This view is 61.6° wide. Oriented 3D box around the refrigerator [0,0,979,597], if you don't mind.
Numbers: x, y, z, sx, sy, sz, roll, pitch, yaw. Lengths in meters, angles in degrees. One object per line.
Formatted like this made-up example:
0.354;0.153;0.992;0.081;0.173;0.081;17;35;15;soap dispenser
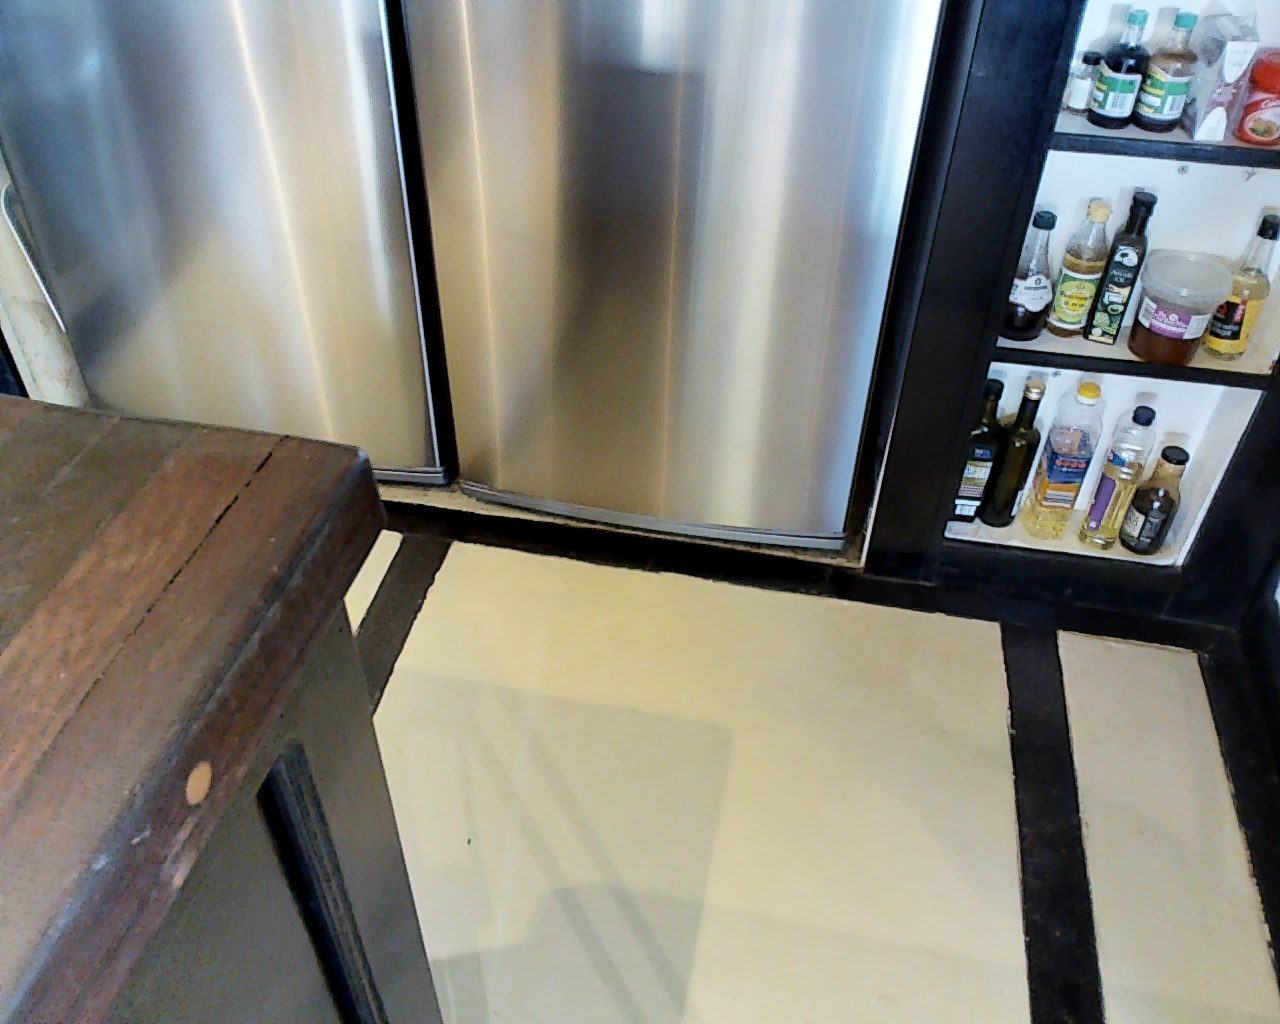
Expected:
-0.310;-0.670;1.420;1.440;1.750;0.180;8;42;8;refrigerator

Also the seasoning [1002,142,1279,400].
0.700;-0.330;1.480;0.310;0.280;0.160;6;42;6;seasoning

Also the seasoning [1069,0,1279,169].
0.710;-0.530;1.310;0.300;0.170;0.110;6;42;6;seasoning
